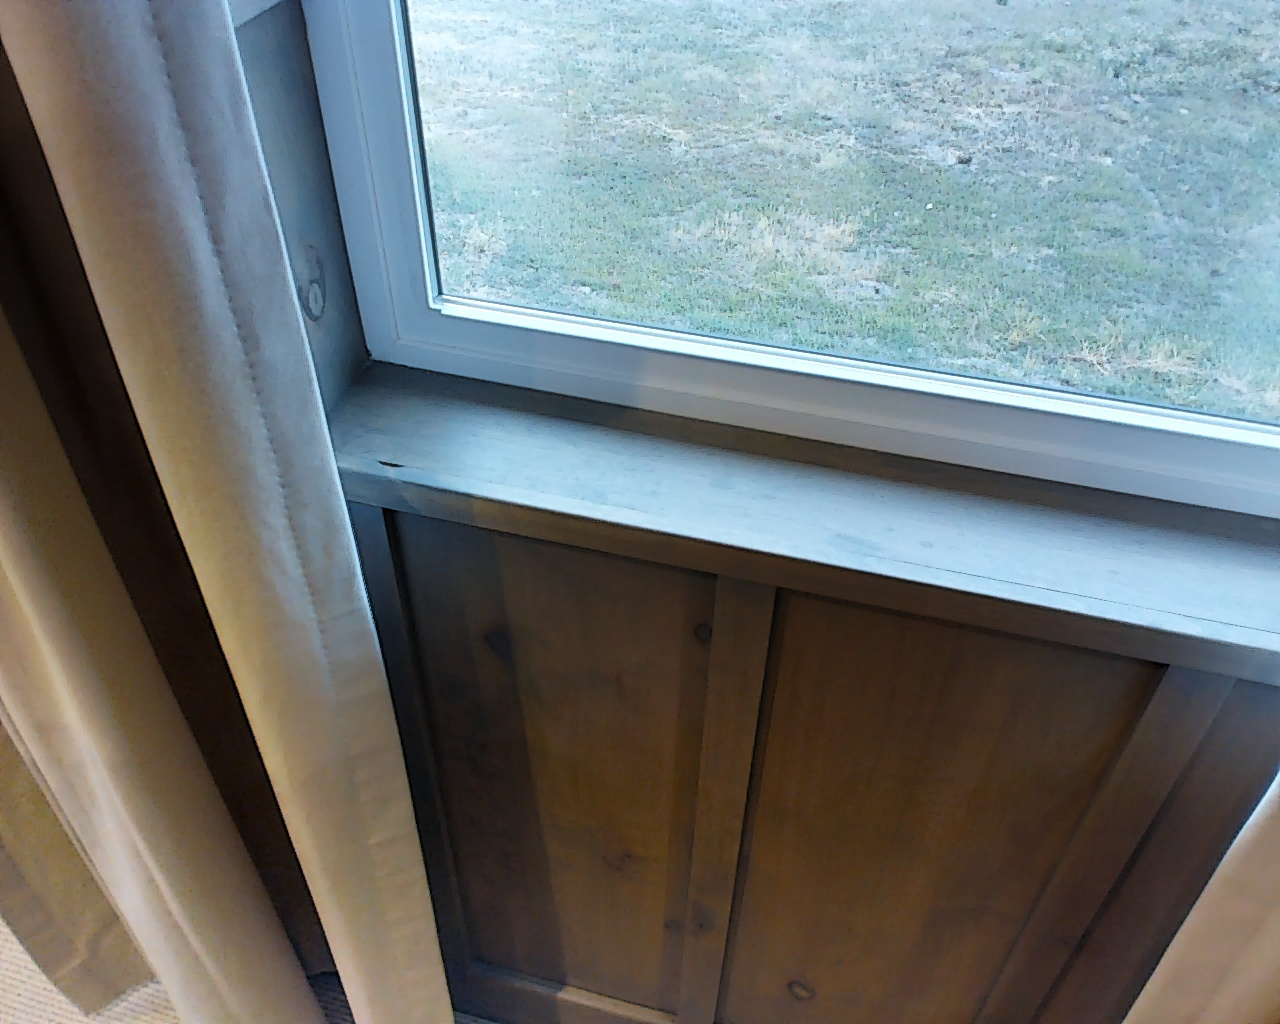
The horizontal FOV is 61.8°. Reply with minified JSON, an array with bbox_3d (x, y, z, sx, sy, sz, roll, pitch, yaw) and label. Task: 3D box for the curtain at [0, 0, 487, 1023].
[{"bbox_3d":[-0.480,-0.360,0.480,0.580,2.680,0.220,11,42,10],"label":"curtain"}]
